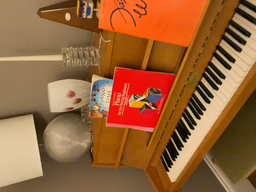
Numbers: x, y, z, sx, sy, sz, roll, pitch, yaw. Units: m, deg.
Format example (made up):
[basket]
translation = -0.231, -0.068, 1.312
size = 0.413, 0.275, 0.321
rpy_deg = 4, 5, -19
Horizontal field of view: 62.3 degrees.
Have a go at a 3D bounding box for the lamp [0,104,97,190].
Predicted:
[lamp]
translation = -0.460, 0.270, 1.160
size = 0.190, 0.510, 0.340
rpy_deg = 60, 148, 37
